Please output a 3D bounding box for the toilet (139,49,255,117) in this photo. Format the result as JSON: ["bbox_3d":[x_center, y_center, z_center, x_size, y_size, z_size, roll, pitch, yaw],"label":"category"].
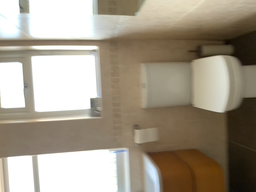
[{"bbox_3d":[0.540,-0.100,1.540,0.660,0.780,0.370,-162,70,-80],"label":"toilet"}]

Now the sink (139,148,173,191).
[{"bbox_3d":[0.210,0.850,1.650,0.450,0.130,0.760,-162,70,-80],"label":"sink"}]

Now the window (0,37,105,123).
[{"bbox_3d":[-0.710,-0.150,1.920,0.150,0.960,0.720,-169,77,-81],"label":"window"}]
